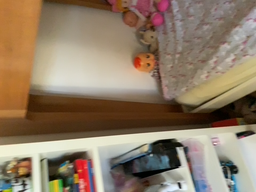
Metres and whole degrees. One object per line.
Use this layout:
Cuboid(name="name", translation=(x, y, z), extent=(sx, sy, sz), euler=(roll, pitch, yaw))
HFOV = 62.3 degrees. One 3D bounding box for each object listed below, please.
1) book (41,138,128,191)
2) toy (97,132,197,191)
Cuboid(name="book", translation=(-0.180, 0.370, 0.770), extent=(0.400, 0.200, 0.330), euler=(-41, 54, 53))
Cuboid(name="toy", translation=(0.070, 0.350, 0.810), extent=(0.240, 0.270, 0.350), euler=(-41, 54, 53))
